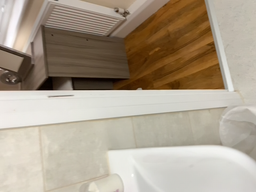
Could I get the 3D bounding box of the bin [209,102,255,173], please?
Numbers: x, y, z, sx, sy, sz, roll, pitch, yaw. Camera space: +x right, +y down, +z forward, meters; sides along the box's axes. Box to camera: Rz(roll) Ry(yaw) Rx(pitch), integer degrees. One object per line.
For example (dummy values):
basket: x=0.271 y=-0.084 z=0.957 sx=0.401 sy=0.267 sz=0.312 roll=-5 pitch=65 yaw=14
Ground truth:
bin: x=0.600 y=0.170 z=0.960 sx=0.280 sy=0.280 sz=0.280 roll=-20 pitch=76 yaw=52
